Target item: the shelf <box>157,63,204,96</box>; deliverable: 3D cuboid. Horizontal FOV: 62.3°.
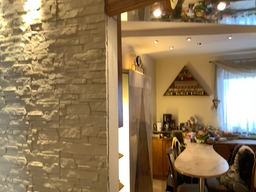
[{"bbox_3d":[1.180,-0.360,4.820,1.040,0.730,0.100,-1,-1,17],"label":"shelf"}]
